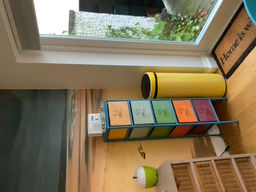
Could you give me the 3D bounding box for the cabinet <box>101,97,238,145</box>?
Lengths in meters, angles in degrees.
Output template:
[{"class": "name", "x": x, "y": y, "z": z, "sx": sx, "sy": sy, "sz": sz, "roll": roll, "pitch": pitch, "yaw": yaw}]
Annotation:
[{"class": "cabinet", "x": 0.390, "y": 0.240, "z": 2.110, "sx": 0.360, "sy": 1.260, "sz": 0.300, "roll": 107, "pitch": 158, "yaw": -51}]
